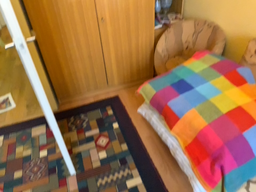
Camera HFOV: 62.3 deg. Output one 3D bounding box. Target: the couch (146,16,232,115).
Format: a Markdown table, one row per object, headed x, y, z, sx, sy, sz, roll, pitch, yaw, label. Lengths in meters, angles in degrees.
| x | y | z | sx | sy | sz | roll | pitch | yaw | label |
| --- | --- | --- | --- | --- | --- | --- | --- | --- | --- |
| 0.560 | -0.320 | 2.090 | 0.550 | 0.680 | 0.530 | 27 | 49 | 33 | couch |
